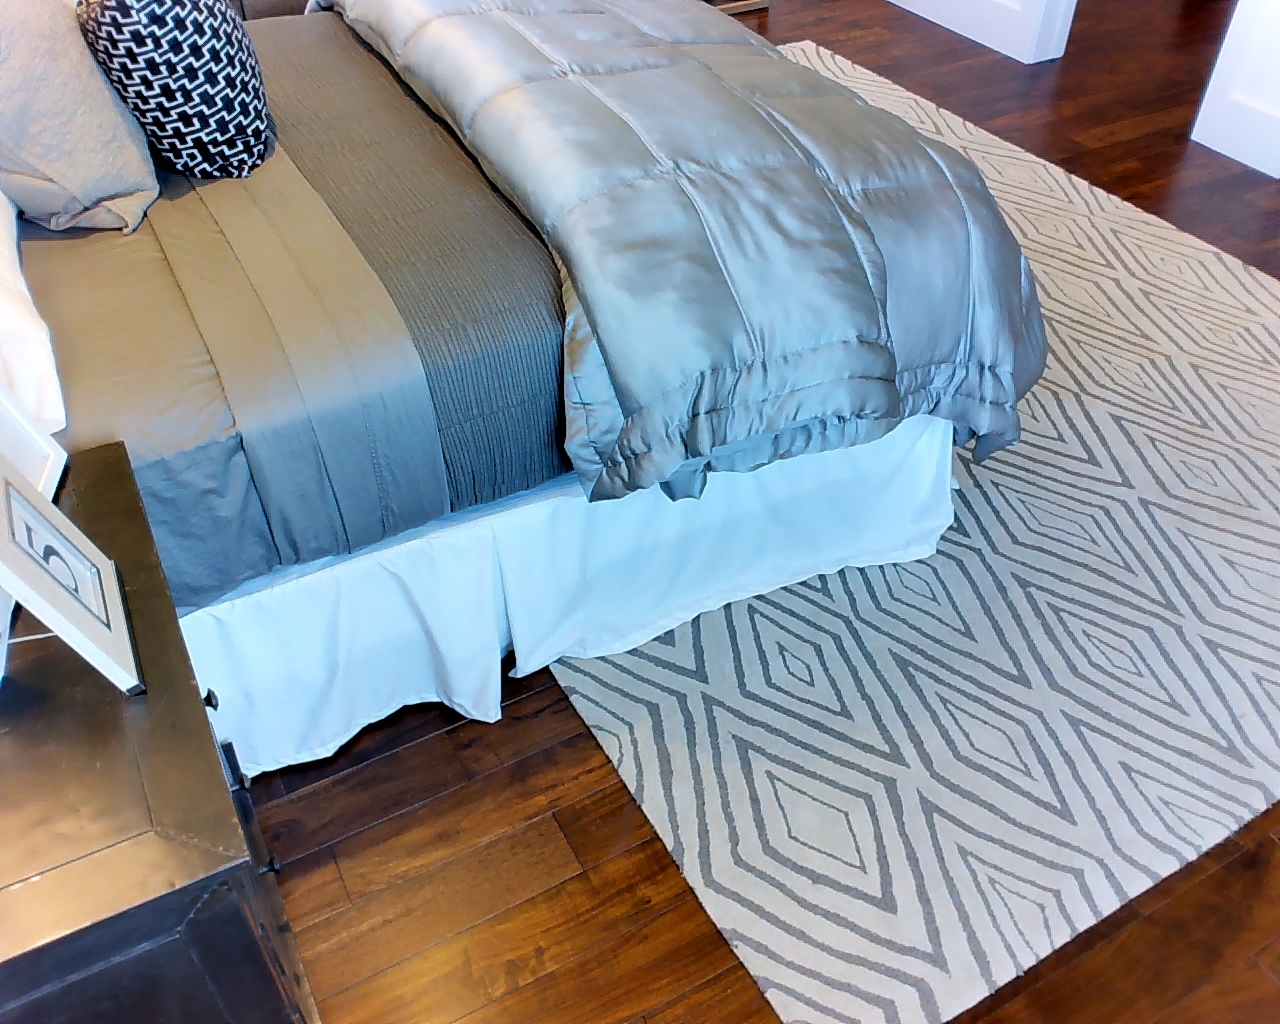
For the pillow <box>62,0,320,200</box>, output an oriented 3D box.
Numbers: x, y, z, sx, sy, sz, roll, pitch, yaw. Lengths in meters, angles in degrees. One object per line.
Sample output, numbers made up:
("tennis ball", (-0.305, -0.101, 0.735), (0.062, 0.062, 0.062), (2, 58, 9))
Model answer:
("pillow", (-0.790, -0.820, 1.830), (0.310, 0.360, 0.430), (-19, 46, -19))
